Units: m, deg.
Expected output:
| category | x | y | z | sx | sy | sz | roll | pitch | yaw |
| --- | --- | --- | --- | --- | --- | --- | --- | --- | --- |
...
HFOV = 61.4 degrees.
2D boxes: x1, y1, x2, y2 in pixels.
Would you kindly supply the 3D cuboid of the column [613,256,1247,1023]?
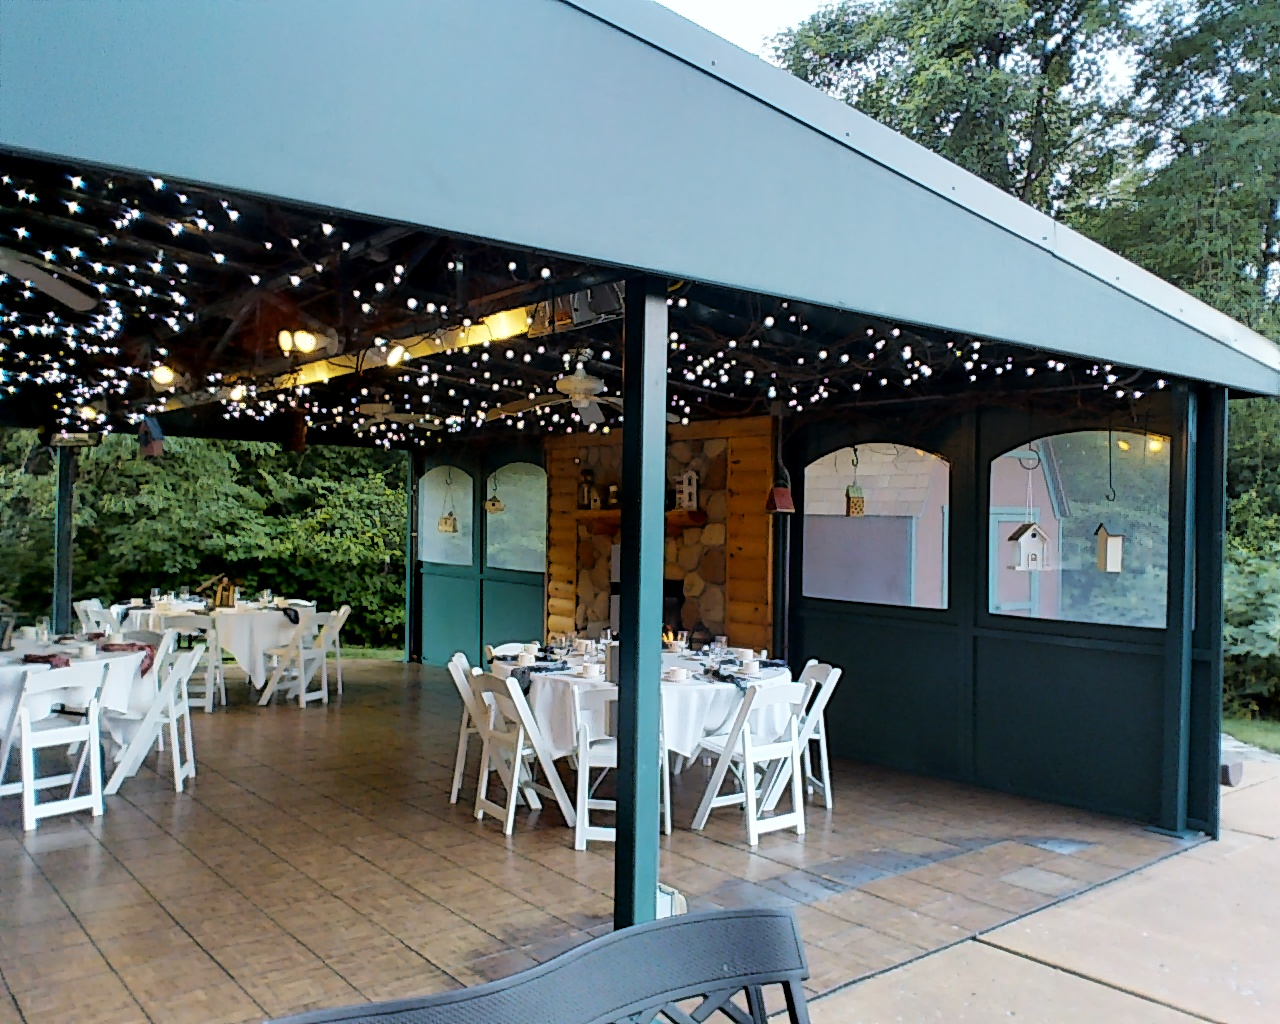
| category | x | y | z | sx | sy | sz | roll | pitch | yaw |
| --- | --- | --- | --- | --- | --- | --- | --- | --- | --- |
| column | 1.560 | 0.450 | 4.550 | 3.949 | 2.351 | 0.280 | 1 | 0 | -39 |
